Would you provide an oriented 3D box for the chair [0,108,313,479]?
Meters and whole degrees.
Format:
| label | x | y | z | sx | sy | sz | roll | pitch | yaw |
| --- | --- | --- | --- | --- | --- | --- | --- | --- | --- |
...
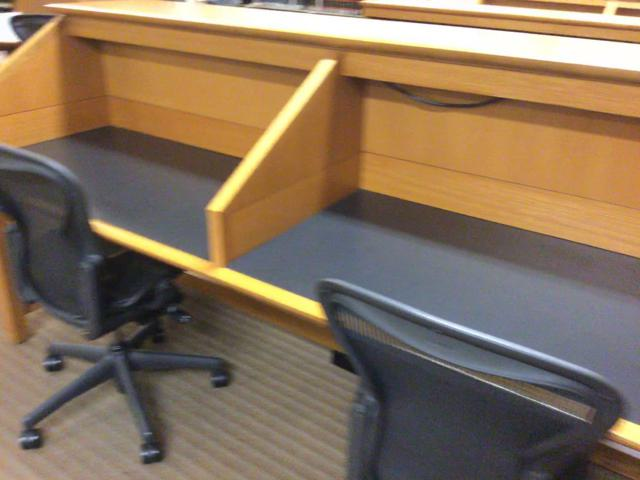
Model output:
| label | x | y | z | sx | sy | sz | roll | pitch | yaw |
| --- | --- | --- | --- | --- | --- | --- | --- | --- | --- |
| chair | -0.540 | 0.140 | 1.880 | 0.710 | 0.940 | 0.690 | 18 | 26 | 28 |

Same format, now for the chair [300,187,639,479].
| label | x | y | z | sx | sy | sz | roll | pitch | yaw |
| --- | --- | --- | --- | --- | --- | --- | --- | --- | --- |
| chair | 0.380 | 0.470 | 1.290 | 0.570 | 0.940 | 0.680 | 18 | 26 | 28 |
